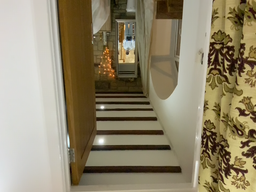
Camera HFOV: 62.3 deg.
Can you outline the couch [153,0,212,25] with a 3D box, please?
[{"bbox_3d":[0.750,-1.480,3.140,0.580,0.760,1.060,-1,-164,-2],"label":"couch"}]
